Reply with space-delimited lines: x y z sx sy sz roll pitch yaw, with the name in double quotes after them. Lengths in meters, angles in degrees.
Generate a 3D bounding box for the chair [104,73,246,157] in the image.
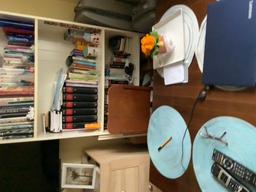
0.330 0.100 1.580 0.580 0.850 0.450 3 92 63 "chair"
